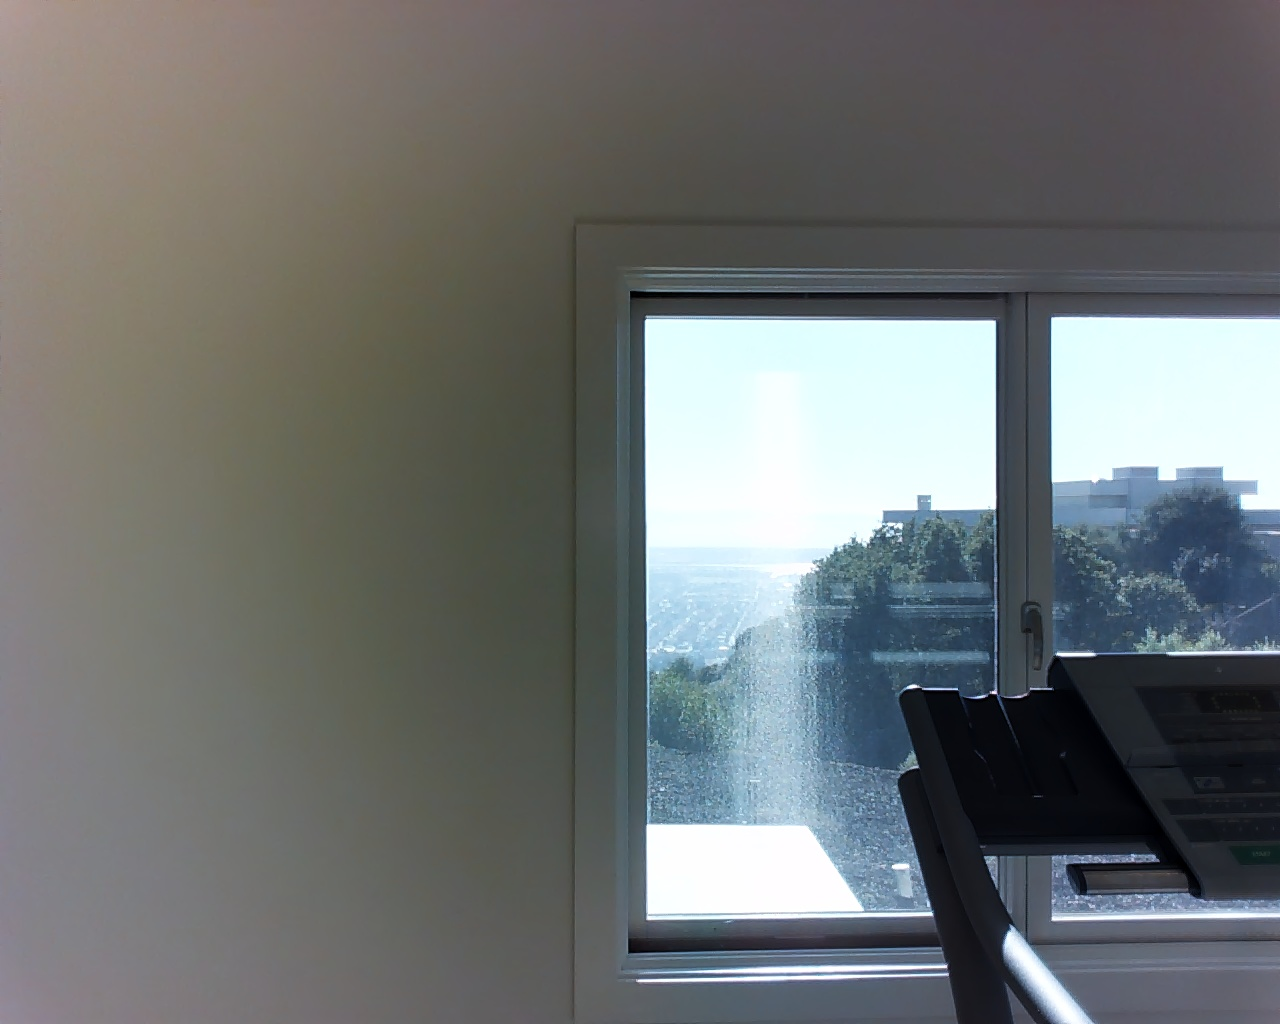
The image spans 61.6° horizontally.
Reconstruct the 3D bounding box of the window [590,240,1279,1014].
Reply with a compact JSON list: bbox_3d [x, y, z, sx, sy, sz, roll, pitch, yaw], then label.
[{"bbox_3d":[0.870,0.230,2.330,1.940,1.610,0.130,0,0,-2],"label":"window"}]
